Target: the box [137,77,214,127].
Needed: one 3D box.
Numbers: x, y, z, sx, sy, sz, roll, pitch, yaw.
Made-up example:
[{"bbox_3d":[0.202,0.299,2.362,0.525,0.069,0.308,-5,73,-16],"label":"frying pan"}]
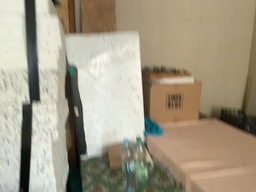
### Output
[{"bbox_3d":[0.500,0.030,2.390,0.670,0.430,0.510,-3,12,-15],"label":"box"}]
